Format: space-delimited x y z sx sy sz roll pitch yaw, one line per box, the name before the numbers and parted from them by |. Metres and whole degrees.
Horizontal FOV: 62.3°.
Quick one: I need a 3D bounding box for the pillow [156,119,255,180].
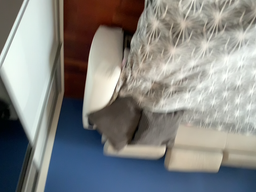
pillow | 0.970 0.620 2.320 1.190 0.430 0.550 7 150 -10
